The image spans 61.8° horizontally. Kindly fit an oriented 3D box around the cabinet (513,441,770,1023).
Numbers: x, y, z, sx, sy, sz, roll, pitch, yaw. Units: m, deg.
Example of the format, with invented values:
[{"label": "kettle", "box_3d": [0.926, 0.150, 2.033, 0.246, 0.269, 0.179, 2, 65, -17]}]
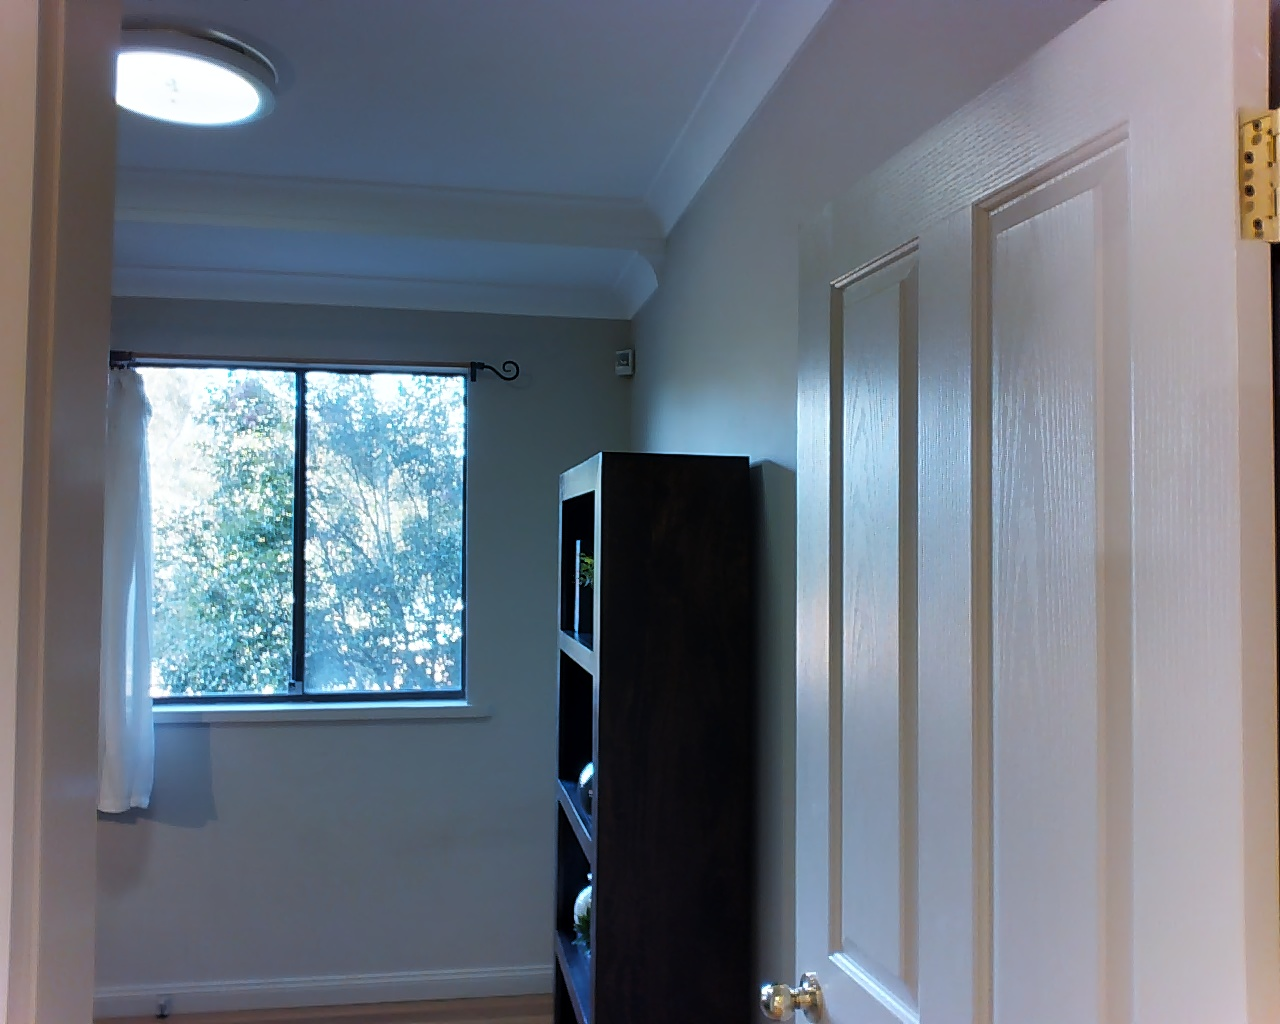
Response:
[{"label": "cabinet", "box_3d": [-0.040, 0.760, 2.600, 0.460, 1.771, 0.840, 1, -2, -10]}]
